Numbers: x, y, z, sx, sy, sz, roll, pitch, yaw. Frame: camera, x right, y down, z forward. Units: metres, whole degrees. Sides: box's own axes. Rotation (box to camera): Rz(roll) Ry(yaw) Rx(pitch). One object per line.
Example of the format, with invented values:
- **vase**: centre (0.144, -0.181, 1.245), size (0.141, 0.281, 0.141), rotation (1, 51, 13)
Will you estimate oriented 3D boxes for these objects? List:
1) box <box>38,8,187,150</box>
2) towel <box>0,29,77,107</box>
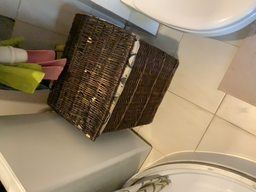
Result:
- **box**: centre (-0.090, -0.100, 1.140), size (0.530, 0.420, 0.460), rotation (33, 107, 29)
- **towel**: centre (-0.430, -0.110, 0.830), size (0.230, 0.330, 0.210), rotation (36, 108, 28)
